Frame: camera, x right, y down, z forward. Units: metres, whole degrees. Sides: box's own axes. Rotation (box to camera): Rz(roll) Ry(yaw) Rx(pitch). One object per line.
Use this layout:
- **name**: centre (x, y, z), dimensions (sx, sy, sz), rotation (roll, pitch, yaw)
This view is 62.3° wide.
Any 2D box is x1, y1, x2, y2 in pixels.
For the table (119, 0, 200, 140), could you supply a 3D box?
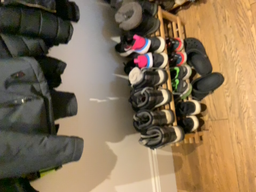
- **table**: centre (0.200, -0.150, 1.380), dimensions (0.290, 0.320, 0.820), rotation (-13, 80, 45)
